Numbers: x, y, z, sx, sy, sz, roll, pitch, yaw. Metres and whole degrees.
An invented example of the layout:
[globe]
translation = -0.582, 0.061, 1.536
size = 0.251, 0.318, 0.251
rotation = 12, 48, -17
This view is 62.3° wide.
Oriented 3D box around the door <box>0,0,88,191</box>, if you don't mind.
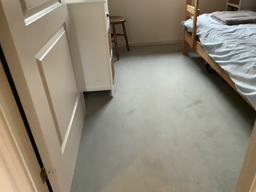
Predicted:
[door]
translation = -0.400, -0.550, 0.770
size = 0.110, 2.150, 0.960
rotation = -4, 31, -2
